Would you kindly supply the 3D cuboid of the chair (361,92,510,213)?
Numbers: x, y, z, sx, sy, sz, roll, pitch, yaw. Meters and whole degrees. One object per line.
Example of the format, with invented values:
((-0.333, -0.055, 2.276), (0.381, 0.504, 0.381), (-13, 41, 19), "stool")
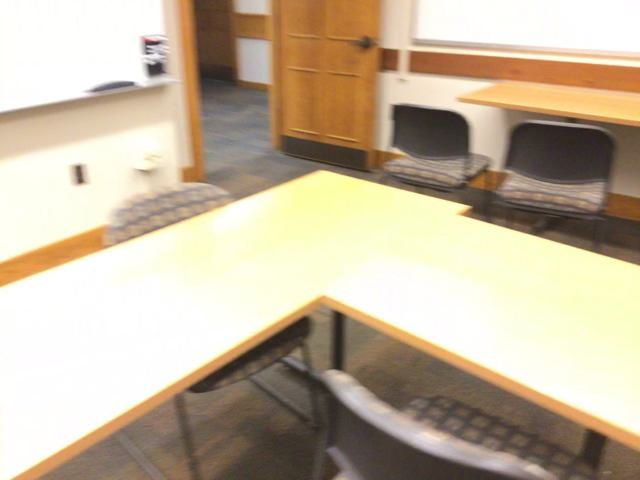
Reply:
((0.570, -0.460, 2.870), (0.530, 0.420, 0.500), (17, 28, 31), "chair")

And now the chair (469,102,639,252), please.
((1.040, -0.310, 2.590), (0.550, 0.490, 0.430), (17, 28, 31), "chair")
